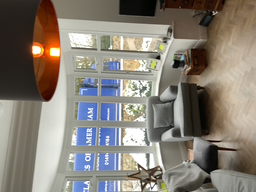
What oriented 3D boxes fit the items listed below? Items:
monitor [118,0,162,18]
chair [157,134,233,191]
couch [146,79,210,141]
[{"bbox_3d":[0.200,-1.590,2.910,0.060,0.620,0.980,-94,8,-47],"label":"monitor"},{"bbox_3d":[0.860,0.870,2.840,0.500,0.810,0.610,-165,78,-84],"label":"chair"},{"bbox_3d":[0.820,0.330,3.900,1.140,0.780,0.900,112,159,-74],"label":"couch"}]
